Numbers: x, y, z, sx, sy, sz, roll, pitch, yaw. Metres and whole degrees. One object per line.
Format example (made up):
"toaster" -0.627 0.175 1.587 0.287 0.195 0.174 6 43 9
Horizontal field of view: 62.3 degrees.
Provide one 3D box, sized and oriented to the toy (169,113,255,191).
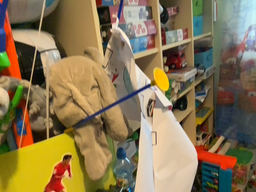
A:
"toy" 0.630 0.630 1.340 0.400 0.750 0.820 5 21 34
